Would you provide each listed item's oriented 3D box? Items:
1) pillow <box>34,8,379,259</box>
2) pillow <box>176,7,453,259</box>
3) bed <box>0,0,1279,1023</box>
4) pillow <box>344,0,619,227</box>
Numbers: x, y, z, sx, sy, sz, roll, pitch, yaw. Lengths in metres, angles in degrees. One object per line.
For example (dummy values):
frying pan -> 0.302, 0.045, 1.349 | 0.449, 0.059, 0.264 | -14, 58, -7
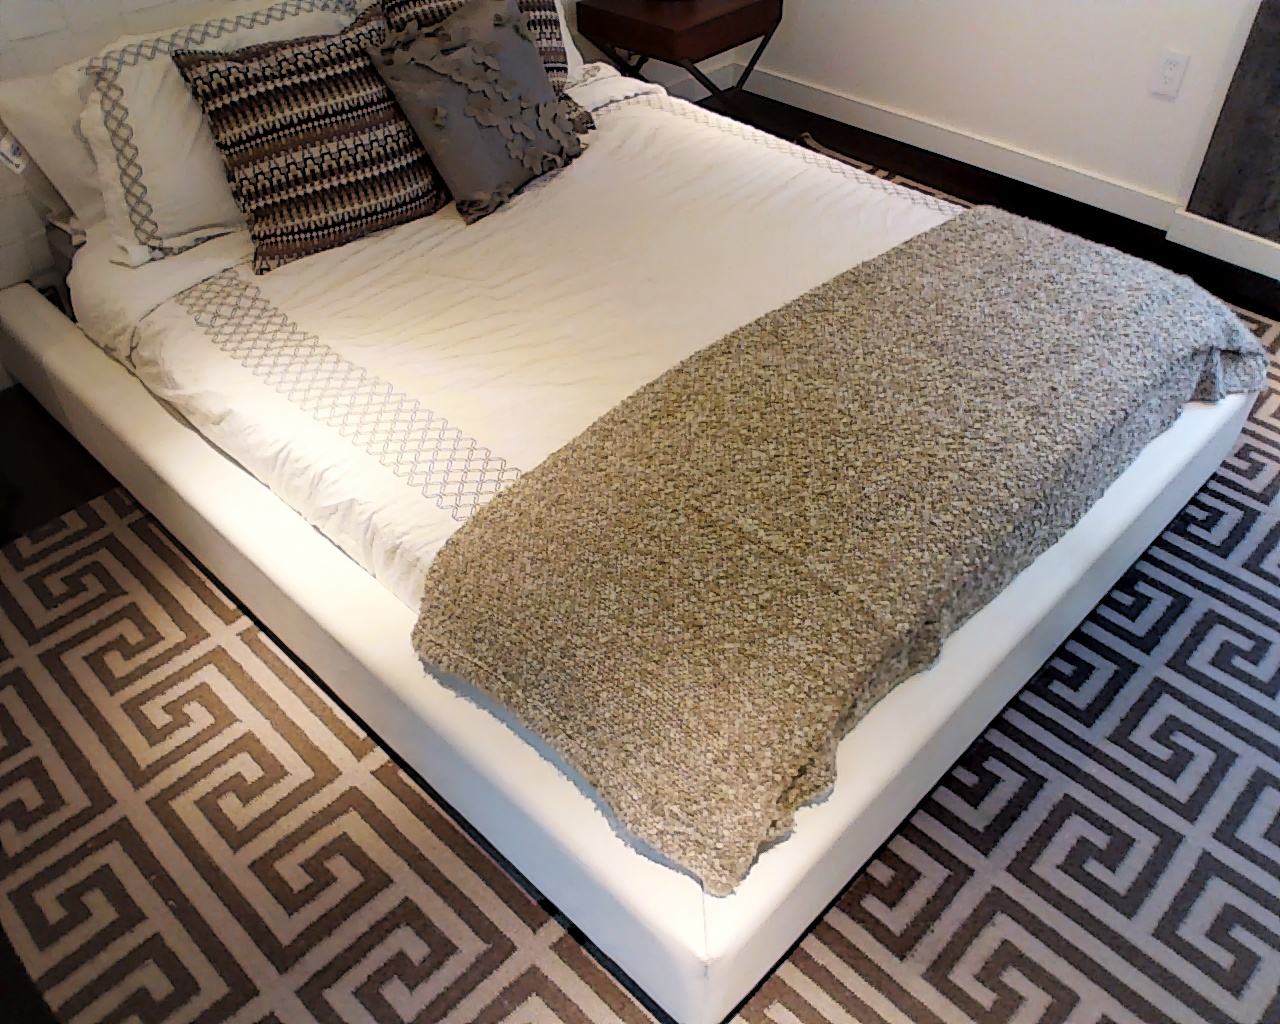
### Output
pillow -> -0.870, -0.810, 2.260 | 0.230, 0.360, 0.610 | 35, 43, 27
pillow -> -0.660, -0.750, 2.200 | 0.180, 0.380, 0.420 | 43, 30, 28
bed -> -0.120, -0.520, 2.240 | 2.370, 0.920, 1.910 | 31, 51, 30
pillow -> -0.340, -0.870, 2.360 | 0.170, 0.400, 0.480 | 44, 30, 25
